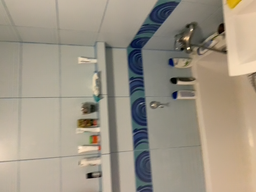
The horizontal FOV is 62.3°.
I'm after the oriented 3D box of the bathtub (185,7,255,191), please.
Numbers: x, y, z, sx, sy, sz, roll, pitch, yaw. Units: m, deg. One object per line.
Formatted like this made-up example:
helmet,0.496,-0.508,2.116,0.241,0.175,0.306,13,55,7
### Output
bathtub,0.910,0.340,1.450,0.700,0.570,1.570,147,121,-71
